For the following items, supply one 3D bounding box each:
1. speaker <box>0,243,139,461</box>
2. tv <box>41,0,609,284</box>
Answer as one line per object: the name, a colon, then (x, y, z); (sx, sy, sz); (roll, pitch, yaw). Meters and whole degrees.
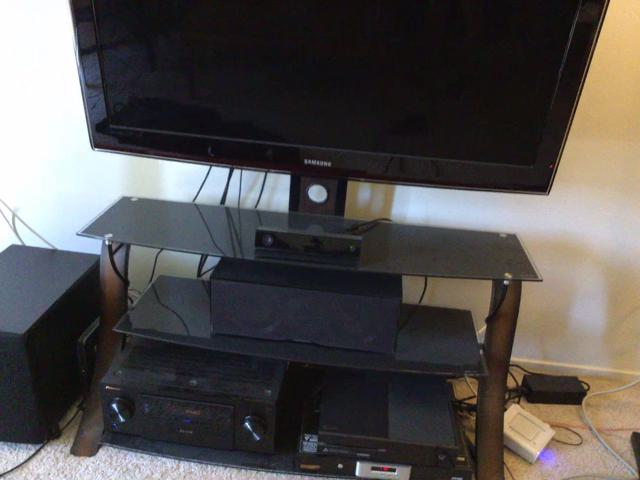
speaker: (-0.810, 0.270, 1.560); (0.440, 0.380, 0.440); (2, 21, 7)
tv: (0.000, -0.390, 1.340); (1.180, 0.900, 0.250); (-3, 8, 8)
